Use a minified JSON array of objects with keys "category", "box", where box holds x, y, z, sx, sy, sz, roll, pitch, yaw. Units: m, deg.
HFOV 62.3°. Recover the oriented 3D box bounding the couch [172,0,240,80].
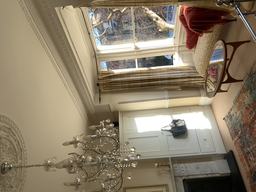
[{"category":"couch","box":[1.410,-1.110,4.180,1.540,0.790,0.710,82,-177,-56]}]
